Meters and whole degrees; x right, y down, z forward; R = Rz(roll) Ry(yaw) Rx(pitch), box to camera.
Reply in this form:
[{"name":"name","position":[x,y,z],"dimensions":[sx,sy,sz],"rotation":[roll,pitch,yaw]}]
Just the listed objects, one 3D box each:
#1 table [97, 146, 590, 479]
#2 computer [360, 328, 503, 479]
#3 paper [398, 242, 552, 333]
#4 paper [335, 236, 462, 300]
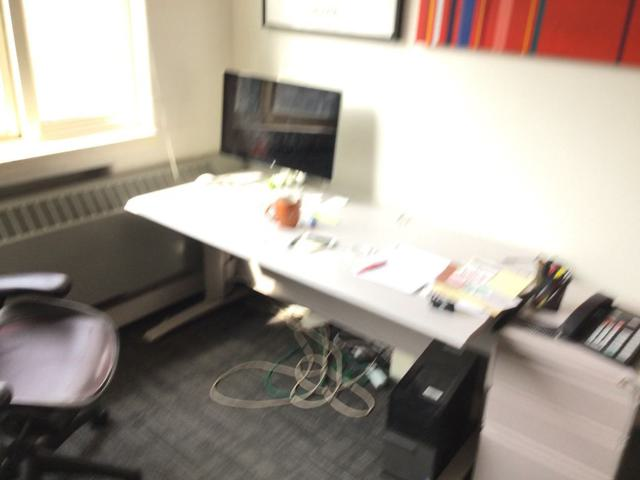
[{"name":"table","position":[0.010,0.240,2.240],"dimensions":[1.580,0.790,0.870],"rotation":[20,28,34]},{"name":"computer","position":[0.390,0.590,2.010],"dimensions":[0.240,0.360,0.460],"rotation":[22,29,37]},{"name":"paper","position":[0.490,0.130,1.800],"dimensions":[0.290,0.050,0.440],"rotation":[22,29,37]},{"name":"paper","position":[0.260,0.080,1.890],"dimensions":[0.280,0.030,0.320],"rotation":[22,29,37]}]
